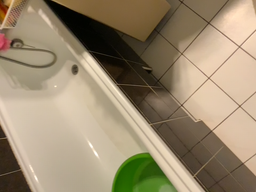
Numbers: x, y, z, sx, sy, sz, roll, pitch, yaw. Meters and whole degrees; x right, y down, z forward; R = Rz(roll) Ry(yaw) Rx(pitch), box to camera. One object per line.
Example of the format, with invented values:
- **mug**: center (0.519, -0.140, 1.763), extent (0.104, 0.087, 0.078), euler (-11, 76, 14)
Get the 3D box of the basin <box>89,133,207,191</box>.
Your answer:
- **basin**: center (0.110, 0.500, 1.020), extent (0.460, 0.200, 0.410), euler (48, 114, 23)
